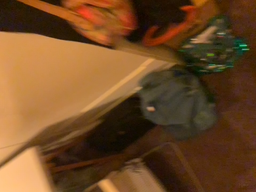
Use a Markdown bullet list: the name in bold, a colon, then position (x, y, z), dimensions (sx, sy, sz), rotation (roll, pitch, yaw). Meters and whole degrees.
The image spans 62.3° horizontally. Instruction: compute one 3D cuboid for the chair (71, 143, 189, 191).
- **chair**: position (0.000, 0.570, 1.150), dimensions (0.380, 0.720, 0.350), rotation (-29, 79, 28)
